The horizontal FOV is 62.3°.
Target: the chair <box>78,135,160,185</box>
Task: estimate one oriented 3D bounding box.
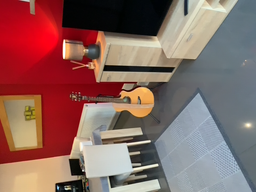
[{"bbox_3d":[-0.140,0.840,2.820,0.510,0.930,0.370,118,143,-50],"label":"chair"}]

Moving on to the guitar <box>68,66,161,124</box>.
[{"bbox_3d":[-0.160,0.000,2.640,0.190,1.050,0.460,180,103,-78],"label":"guitar"}]

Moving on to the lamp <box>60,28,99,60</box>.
[{"bbox_3d":[-0.480,-0.500,2.070,0.220,0.330,0.190,118,143,-50],"label":"lamp"}]
